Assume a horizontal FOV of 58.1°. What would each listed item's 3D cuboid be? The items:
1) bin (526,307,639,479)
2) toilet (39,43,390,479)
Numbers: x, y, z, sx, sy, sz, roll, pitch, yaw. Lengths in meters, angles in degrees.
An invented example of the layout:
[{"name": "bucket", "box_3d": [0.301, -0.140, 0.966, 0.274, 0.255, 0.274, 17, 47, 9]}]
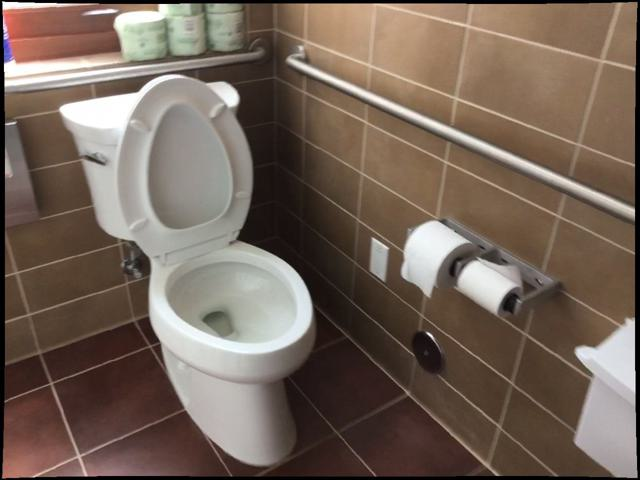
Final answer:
[{"name": "bin", "box_3d": [0.588, 0.371, 1.020, 0.130, 0.351, 0.350, -19, 38, -30]}, {"name": "toilet", "box_3d": [-0.309, 0.040, 1.570, 0.479, 0.892, 0.840, -19, 38, -30]}]
